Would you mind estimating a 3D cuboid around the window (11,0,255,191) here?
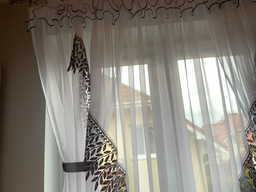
[{"bbox_3d":[0.280,0.080,1.060,1.550,1.630,0.270,-4,-13,1],"label":"window"}]
